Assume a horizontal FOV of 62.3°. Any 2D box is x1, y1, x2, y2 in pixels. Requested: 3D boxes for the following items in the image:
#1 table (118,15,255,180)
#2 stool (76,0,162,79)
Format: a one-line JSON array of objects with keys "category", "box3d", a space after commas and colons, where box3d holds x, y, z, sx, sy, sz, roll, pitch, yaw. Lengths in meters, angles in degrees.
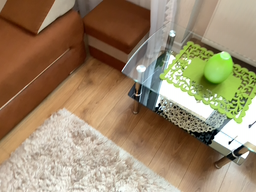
[{"category": "table", "box3d": [0.390, 0.000, 1.210, 0.750, 0.440, 0.490, 31, 62, 15]}, {"category": "stool", "box3d": [-0.060, -0.450, 1.510, 0.400, 0.370, 0.380, 31, 62, 15]}]
